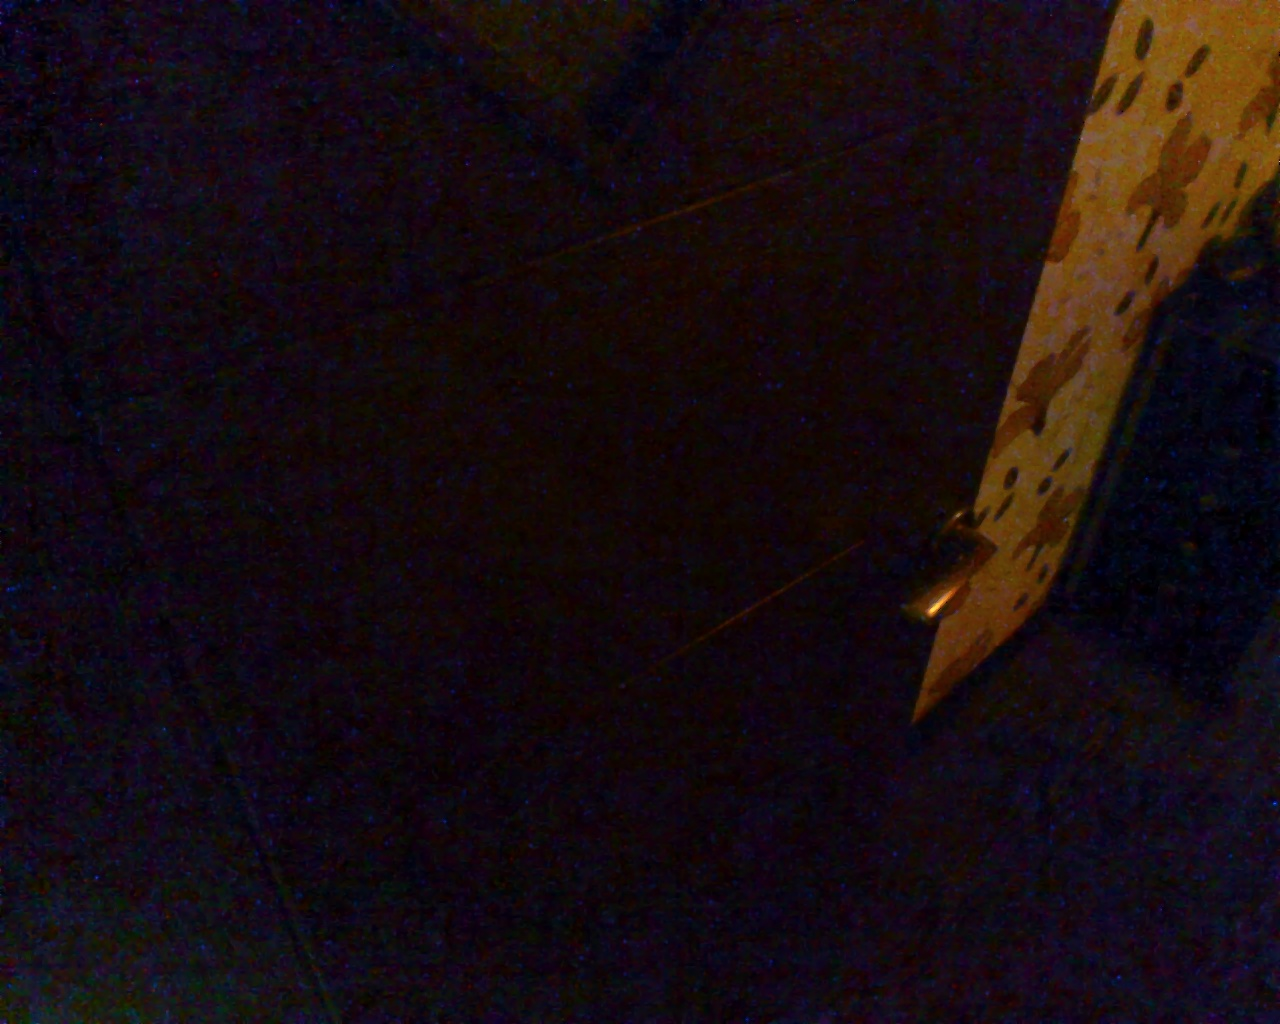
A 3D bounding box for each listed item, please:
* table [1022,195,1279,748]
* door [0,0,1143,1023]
[{"bbox_3d":[1.110,-0.070,1.970,0.510,0.790,0.400,-32,51,-31],"label":"table"},{"bbox_3d":[-0.030,0.150,0.740,0.900,2.080,0.060,-32,51,-31],"label":"door"}]
